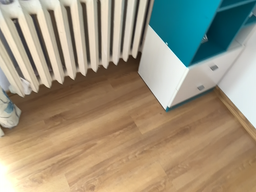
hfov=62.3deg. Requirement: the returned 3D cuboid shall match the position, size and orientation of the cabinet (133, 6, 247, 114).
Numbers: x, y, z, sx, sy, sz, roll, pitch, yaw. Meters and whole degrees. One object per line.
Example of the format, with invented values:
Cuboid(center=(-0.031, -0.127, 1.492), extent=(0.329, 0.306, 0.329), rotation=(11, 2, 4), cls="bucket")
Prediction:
Cuboid(center=(0.380, -0.250, 1.480), extent=(0.470, 0.450, 0.440), rotation=(-23, 63, -21), cls="cabinet")
